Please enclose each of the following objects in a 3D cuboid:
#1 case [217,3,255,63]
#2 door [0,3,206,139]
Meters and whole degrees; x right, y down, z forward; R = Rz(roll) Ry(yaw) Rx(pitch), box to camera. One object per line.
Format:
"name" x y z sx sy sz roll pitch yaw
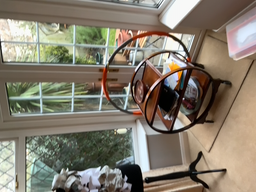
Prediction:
"case" 0.900 -0.440 1.550 0.380 0.240 0.300 160 107 -68
"door" -0.330 -0.190 2.170 0.210 2.160 1.200 -124 37 -55
